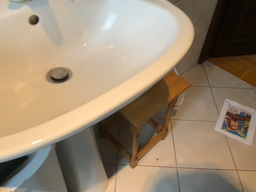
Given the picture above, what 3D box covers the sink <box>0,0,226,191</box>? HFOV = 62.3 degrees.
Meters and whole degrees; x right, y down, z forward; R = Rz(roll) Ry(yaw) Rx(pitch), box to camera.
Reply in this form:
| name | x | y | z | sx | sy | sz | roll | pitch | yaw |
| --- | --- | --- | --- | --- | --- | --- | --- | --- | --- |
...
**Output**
| name | x | y | z | sx | sy | sz | roll | pitch | yaw |
| --- | --- | --- | --- | --- | --- | --- | --- | --- | --- |
| sink | -0.140 | -0.080 | 0.490 | 0.570 | 0.190 | 0.420 | -34 | 57 | -30 |
